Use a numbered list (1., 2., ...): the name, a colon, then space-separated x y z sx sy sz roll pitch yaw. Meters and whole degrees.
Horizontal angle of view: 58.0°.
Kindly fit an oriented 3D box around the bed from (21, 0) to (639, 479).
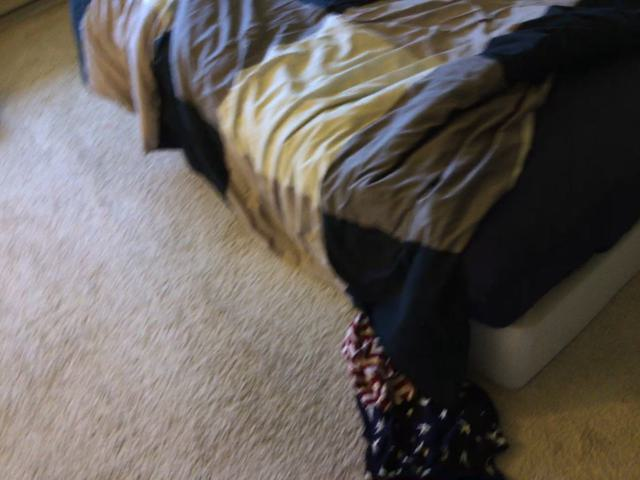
1. bed: 0.530 -0.750 1.700 2.170 0.520 1.790 -37 52 -20
